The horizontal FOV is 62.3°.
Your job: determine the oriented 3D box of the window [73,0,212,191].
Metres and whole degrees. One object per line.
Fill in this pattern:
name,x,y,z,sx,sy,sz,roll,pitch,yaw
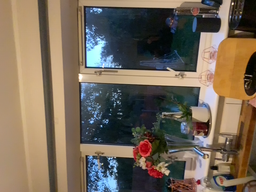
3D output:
window,0.060,0.110,1.690,0.030,0.950,1.800,-83,-4,-73
